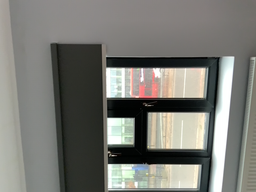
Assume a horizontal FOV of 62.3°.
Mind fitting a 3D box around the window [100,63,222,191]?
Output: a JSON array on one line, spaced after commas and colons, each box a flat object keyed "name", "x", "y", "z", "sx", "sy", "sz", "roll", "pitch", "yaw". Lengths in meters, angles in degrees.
[{"name": "window", "x": 0.290, "y": 0.350, "z": 2.080, "sx": 0.090, "sy": 1.080, "sz": 1.320, "roll": -92, "pitch": 2, "yaw": -76}]
